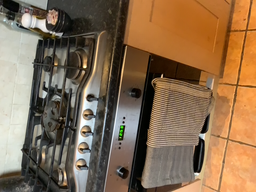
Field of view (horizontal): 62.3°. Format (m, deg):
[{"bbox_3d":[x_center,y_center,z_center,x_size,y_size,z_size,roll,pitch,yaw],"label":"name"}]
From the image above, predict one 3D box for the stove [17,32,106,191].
[{"bbox_3d":[-0.310,0.090,0.860,0.530,0.030,0.640,10,92,45],"label":"stove"}]
